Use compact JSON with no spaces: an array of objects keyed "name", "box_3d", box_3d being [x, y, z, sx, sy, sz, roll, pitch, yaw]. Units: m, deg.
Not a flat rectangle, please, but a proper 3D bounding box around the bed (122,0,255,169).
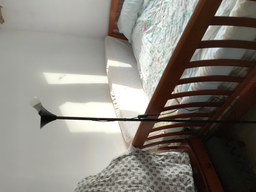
[{"name":"bed","box_3d":[0.650,-0.830,2.090,1.870,0.680,2.330,109,156,-45]}]
